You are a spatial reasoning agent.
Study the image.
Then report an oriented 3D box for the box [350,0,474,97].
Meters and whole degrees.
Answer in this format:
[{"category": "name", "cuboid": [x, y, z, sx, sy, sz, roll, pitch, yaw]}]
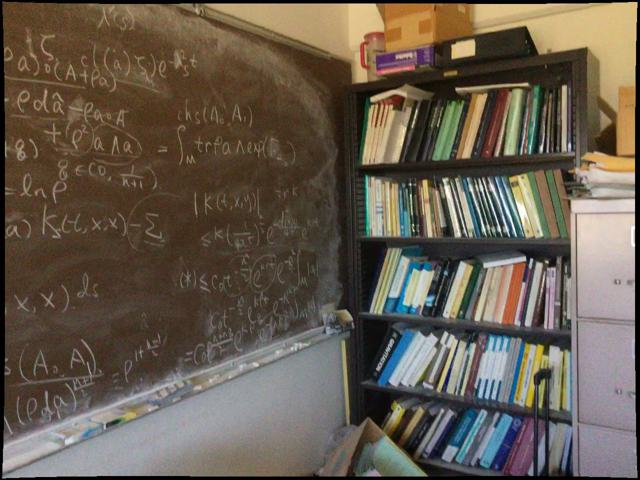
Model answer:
[{"category": "box", "cuboid": [0.389, -0.822, 2.380, 0.389, 0.371, 0.380, 1, 6, 31]}]
